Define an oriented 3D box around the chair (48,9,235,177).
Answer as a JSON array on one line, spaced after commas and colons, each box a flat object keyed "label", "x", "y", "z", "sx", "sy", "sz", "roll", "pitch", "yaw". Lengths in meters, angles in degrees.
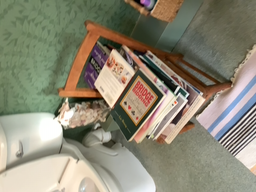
[{"label": "chair", "x": 0.070, "y": -0.040, "z": 0.920, "sx": 0.440, "sy": 0.590, "sz": 0.360, "roll": 47, "pitch": 123, "yaw": 29}]
